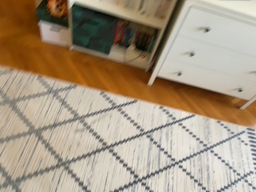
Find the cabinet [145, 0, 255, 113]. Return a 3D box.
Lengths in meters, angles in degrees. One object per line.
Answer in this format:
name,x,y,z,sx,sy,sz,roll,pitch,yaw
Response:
cabinet,0.720,-0.400,1.640,0.920,0.810,0.520,15,55,-6
